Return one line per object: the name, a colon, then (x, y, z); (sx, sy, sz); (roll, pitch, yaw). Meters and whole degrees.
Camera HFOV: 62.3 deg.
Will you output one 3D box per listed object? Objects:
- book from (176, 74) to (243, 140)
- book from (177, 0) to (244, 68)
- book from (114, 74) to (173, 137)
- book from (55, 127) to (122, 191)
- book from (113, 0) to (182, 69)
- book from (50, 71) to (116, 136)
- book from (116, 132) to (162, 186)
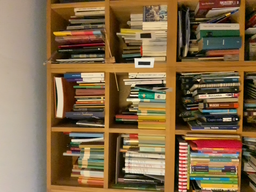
book: (0.500, 0.060, 1.370); (0.310, 0.330, 0.370); (-5, -83, -83)
book: (0.520, -0.390, 1.390); (0.230, 0.350, 0.390); (-23, -66, -82)
book: (0.110, 0.050, 1.440); (0.300, 0.350, 0.380); (-15, -74, -83)
book: (-0.270, 0.430, 1.530); (0.280, 0.410, 0.350); (-19, -70, -83)
book: (0.130, -0.390, 1.410); (0.290, 0.400, 0.390); (-15, -74, -83)
book: (-0.300, 0.040, 1.490); (0.310, 0.370, 0.400); (-19, -70, -83)
book: (0.080, 0.410, 1.440); (0.250, 0.280, 0.270); (-27, -62, -82)
